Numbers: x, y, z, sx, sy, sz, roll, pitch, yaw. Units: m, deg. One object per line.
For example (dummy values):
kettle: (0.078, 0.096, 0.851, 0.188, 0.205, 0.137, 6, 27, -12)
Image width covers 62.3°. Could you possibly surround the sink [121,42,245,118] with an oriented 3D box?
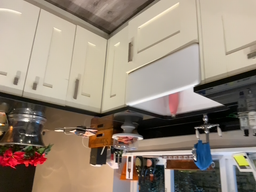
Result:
sink: (0.360, -0.050, 1.470, 0.540, 0.230, 0.610, 16, 157, -37)
